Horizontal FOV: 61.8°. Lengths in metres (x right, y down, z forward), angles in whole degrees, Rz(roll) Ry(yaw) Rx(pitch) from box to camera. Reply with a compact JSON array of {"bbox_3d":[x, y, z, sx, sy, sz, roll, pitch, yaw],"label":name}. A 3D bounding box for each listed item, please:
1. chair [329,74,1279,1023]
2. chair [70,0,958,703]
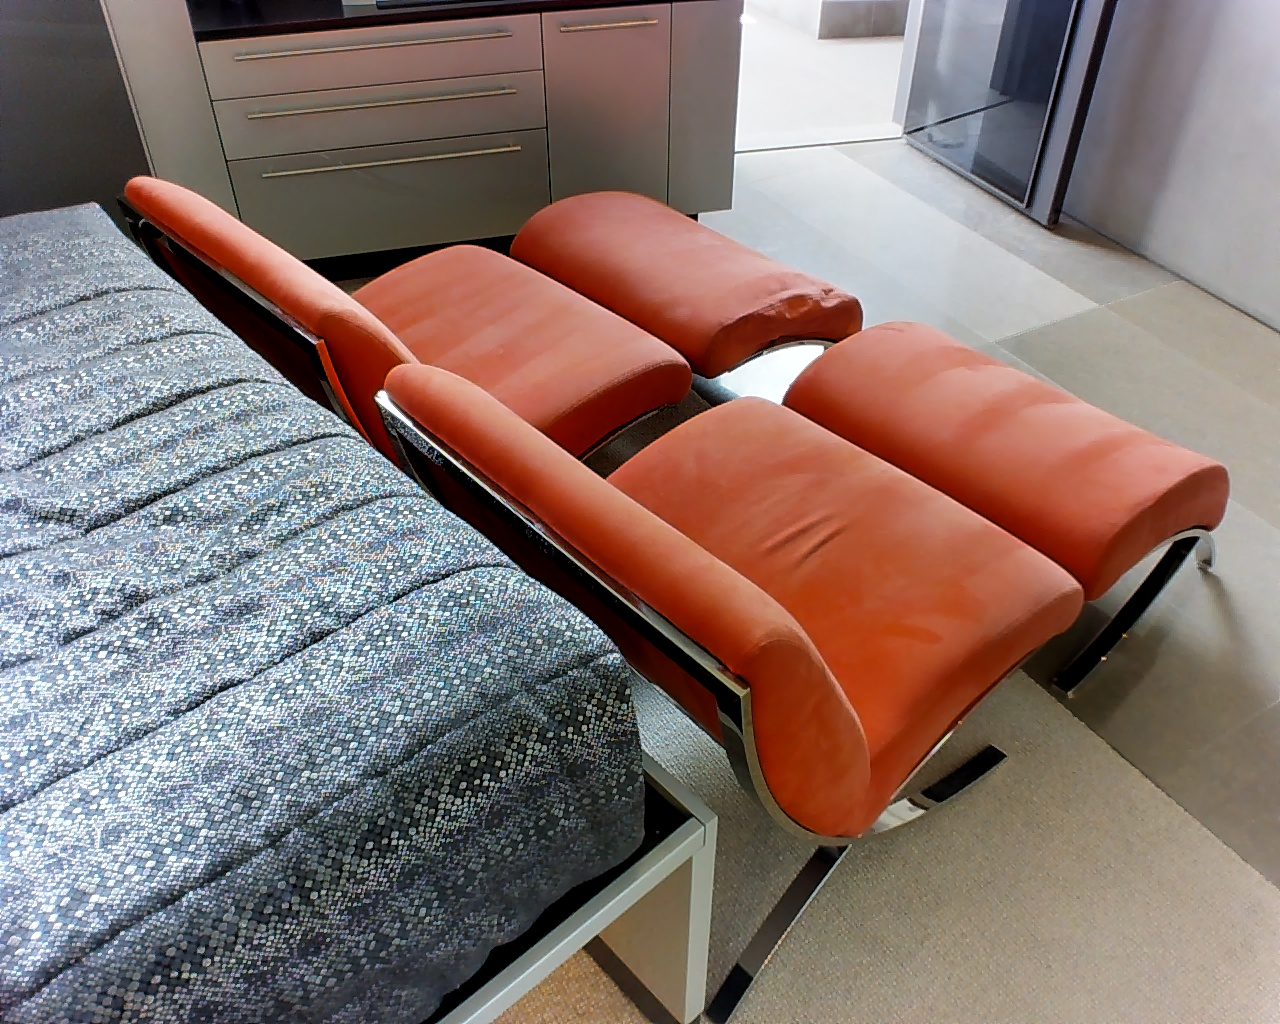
[{"bbox_3d":[0.410,-0.060,1.880,1.510,0.810,0.820,-31,51,-30],"label":"chair"},{"bbox_3d":[-0.190,-0.500,2.360,1.500,0.830,0.870,-31,51,-30],"label":"chair"}]
